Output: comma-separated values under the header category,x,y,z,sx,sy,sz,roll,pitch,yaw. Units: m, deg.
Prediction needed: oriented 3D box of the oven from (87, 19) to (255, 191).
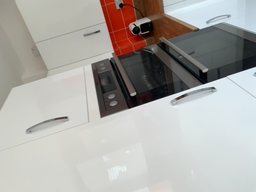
category,x,y,z,sx,sy,sz,roll,pitch,yaw
oven,0.300,0.020,1.230,0.590,0.890,0.570,-114,7,-58
